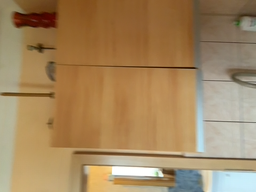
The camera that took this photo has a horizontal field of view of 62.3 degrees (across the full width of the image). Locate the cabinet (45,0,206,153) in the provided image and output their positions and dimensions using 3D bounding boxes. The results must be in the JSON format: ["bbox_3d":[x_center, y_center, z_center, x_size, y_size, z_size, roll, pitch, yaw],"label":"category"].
[{"bbox_3d":[0.000,-0.140,1.180,0.330,0.740,0.820,86,-174,-84],"label":"cabinet"}]
